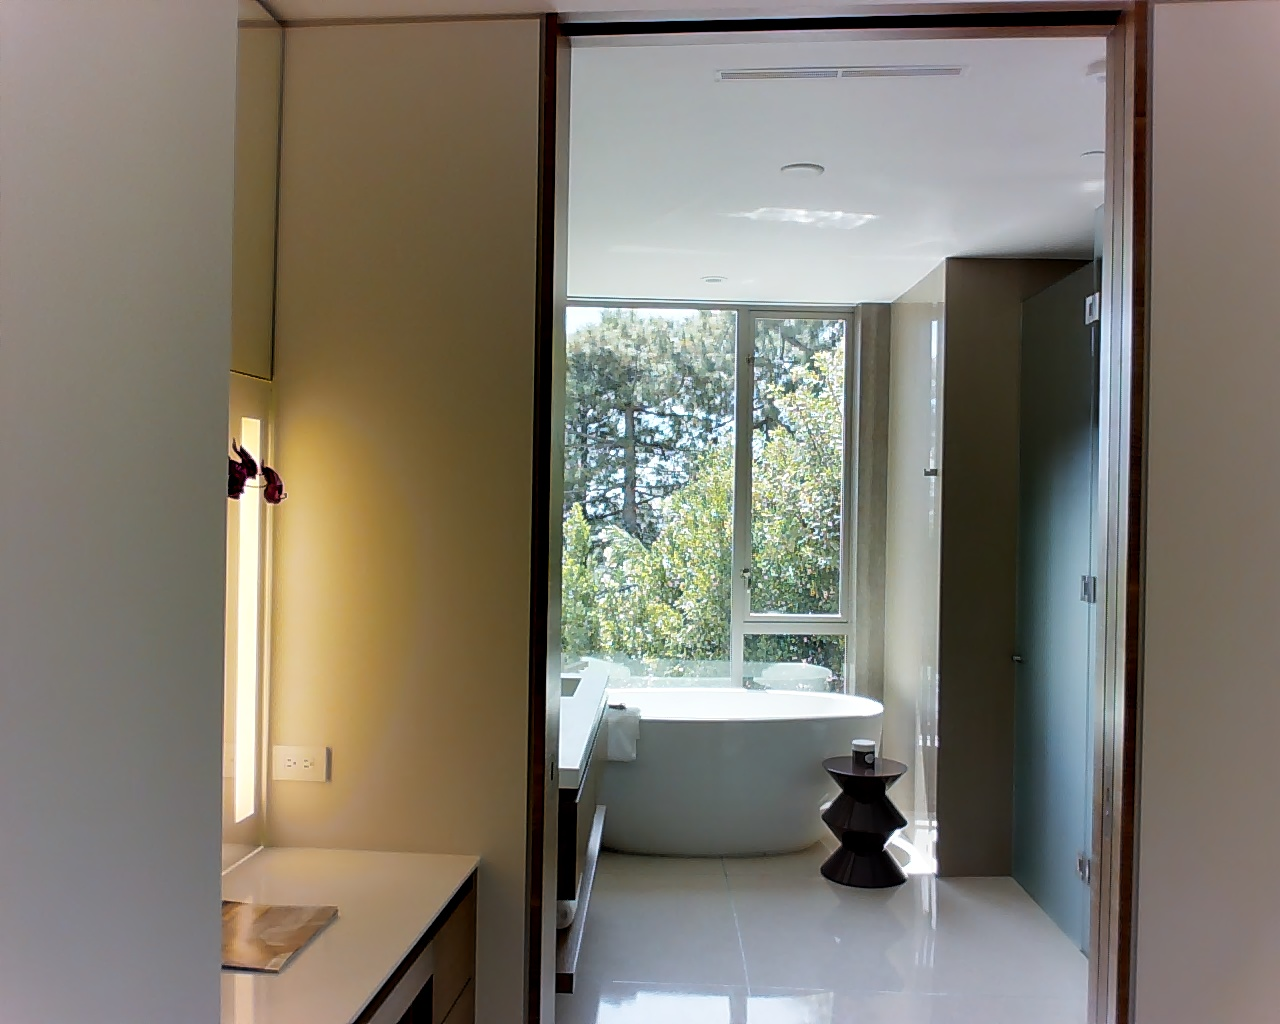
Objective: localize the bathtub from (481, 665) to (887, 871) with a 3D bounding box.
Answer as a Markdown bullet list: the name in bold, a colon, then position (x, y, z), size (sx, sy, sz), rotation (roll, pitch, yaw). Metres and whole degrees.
- **bathtub**: position (0.200, 1.130, 4.890), size (1.730, 0.730, 0.550), rotation (1, 0, 6)
